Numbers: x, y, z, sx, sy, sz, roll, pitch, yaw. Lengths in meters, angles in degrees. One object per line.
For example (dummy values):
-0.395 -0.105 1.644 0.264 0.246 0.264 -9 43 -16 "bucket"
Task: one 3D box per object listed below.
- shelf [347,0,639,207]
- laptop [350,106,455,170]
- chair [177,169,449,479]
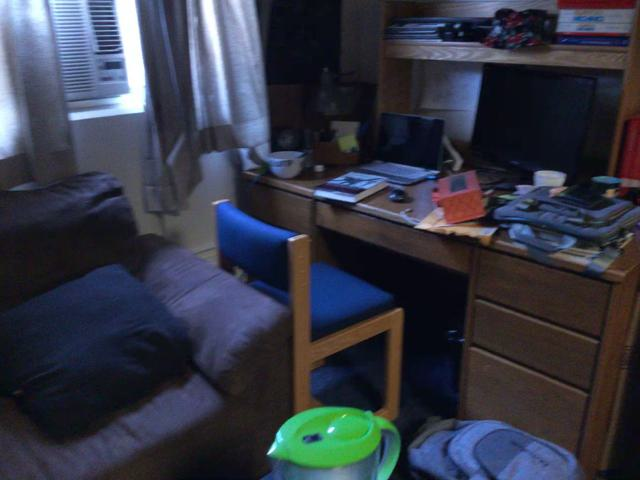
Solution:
0.650 -0.610 2.270 0.340 0.780 1.130 -18 21 -41 "shelf"
0.350 -0.450 2.500 0.170 0.240 0.430 -18 21 -41 "laptop"
0.010 0.230 2.080 0.740 0.830 0.570 -18 21 -41 "chair"
